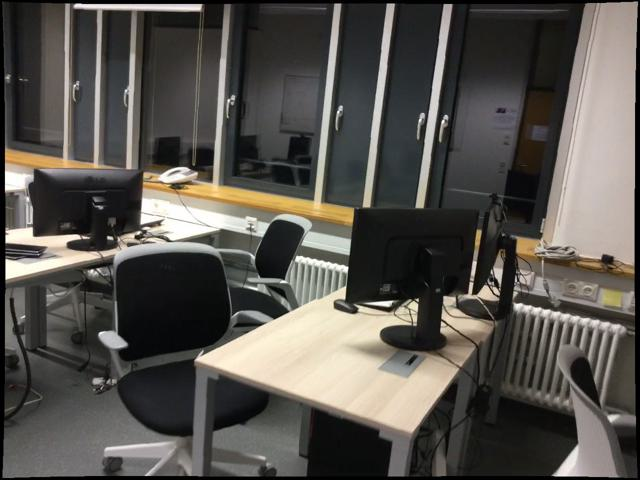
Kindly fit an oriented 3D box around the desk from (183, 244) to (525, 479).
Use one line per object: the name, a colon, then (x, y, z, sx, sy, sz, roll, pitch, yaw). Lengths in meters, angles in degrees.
desk: (0.280, 0.591, 2.360, 0.699, 0.711, 1.680, 11, 16, 27)
